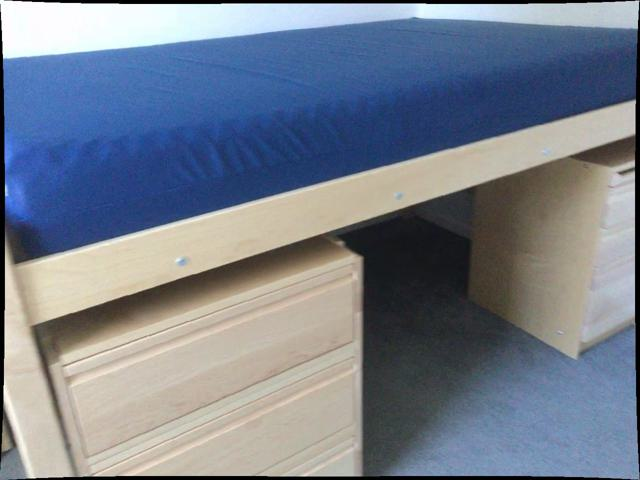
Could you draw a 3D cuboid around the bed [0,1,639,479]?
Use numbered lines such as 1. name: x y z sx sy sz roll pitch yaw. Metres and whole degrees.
1. bed: -0.020 -0.130 2.080 2.268 1.142 1.500 -19 30 -29
